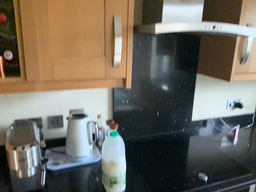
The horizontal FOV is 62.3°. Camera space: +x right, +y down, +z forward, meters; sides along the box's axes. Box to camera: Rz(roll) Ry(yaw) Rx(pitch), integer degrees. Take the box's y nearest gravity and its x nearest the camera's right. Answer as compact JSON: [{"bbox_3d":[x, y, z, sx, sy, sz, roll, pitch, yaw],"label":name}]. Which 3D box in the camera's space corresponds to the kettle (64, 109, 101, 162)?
[{"bbox_3d":[-0.270,0.220,1.250,0.180,0.220,0.200,-4,17,-21],"label":"kettle"}]
